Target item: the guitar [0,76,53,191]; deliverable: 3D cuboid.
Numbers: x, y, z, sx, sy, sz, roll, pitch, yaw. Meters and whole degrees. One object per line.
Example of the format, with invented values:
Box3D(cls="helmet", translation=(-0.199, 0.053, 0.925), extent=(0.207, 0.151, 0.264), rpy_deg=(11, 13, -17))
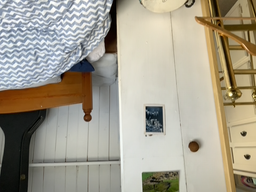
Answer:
Box3D(cls="guitar", translation=(-0.870, 0.360, 1.620), extent=(0.440, 0.940, 0.360), rpy_deg=(-2, 166, -3))
